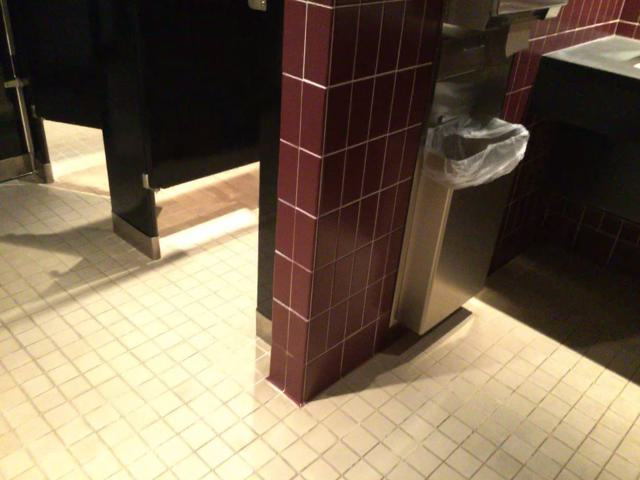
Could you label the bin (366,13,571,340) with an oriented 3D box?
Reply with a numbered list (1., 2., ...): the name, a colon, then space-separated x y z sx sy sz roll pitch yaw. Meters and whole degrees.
1. bin: 0.420 -0.190 1.740 0.250 0.860 0.450 29 39 35
